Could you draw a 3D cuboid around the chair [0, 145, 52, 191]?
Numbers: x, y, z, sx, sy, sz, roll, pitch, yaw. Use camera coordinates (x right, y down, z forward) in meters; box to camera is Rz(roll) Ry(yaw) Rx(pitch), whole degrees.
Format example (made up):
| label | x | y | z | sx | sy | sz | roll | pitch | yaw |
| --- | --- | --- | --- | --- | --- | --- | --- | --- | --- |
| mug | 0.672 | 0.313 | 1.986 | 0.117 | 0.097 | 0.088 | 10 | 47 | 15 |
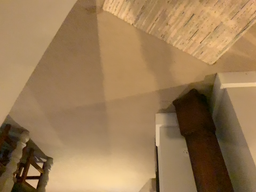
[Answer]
| label | x | y | z | sx | sy | sz | roll | pitch | yaw |
| --- | --- | --- | --- | --- | --- | --- | --- | --- | --- |
| chair | -1.360 | 1.170 | 2.530 | 0.440 | 0.990 | 0.550 | -2 | 137 | 6 |
